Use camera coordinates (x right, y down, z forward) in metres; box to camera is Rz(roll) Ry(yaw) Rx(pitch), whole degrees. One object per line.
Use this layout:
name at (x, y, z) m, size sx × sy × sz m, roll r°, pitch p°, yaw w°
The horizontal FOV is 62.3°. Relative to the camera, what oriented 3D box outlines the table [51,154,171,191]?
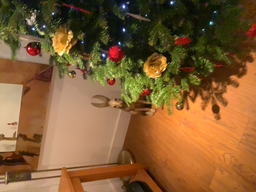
table at (-0.100, 0.890, 1.620) m, size 0.790 × 0.770 × 0.440 m, roll 37°, pitch 117°, yaw 53°
